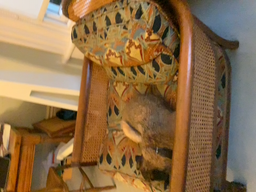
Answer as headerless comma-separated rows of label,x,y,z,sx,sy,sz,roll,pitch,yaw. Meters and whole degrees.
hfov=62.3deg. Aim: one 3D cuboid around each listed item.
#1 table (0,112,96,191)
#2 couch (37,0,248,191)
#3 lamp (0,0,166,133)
table,-0.850,0.750,2.140,0.630,0.730,1.080,4,88,51
couch,0.070,0.010,1.110,0.750,0.760,0.900,-4,82,50
lamp,-0.570,-0.110,1.290,0.700,1.540,0.330,-51,49,33
